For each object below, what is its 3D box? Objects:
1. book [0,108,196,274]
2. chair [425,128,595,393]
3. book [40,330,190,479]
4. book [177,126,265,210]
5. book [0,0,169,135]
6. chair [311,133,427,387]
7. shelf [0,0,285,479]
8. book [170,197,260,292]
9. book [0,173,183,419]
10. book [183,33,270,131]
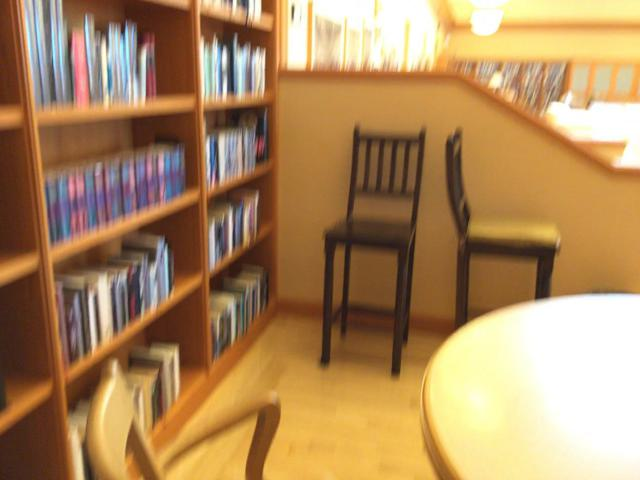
[{"bbox_3d":[-0.690,-0.220,1.960,0.140,0.390,0.900,4,17,13],"label":"book"},{"bbox_3d":[0.850,0.070,2.740,0.610,1.130,0.460,4,17,13],"label":"chair"},{"bbox_3d":[-0.740,0.600,2.200,0.220,0.260,0.620,4,17,13],"label":"book"},{"bbox_3d":[-0.450,-0.360,2.750,0.210,0.310,0.540,4,17,13],"label":"book"},{"bbox_3d":[-0.690,-0.550,1.770,0.110,0.380,0.690,4,17,13],"label":"book"},{"bbox_3d":[0.250,0.070,2.880,0.470,1.130,0.520,4,17,13],"label":"chair"},{"bbox_3d":[-0.880,-0.080,1.400,0.510,2.280,3.680,4,17,13],"label":"shelf"},{"bbox_3d":[-0.480,0.000,2.760,0.200,0.300,0.560,4,17,13],"label":"book"},{"bbox_3d":[-0.750,0.130,1.980,0.200,0.600,0.740,4,17,13],"label":"book"},{"bbox_3d":[-0.400,-0.720,2.630,0.140,0.380,0.650,4,17,13],"label":"book"}]
